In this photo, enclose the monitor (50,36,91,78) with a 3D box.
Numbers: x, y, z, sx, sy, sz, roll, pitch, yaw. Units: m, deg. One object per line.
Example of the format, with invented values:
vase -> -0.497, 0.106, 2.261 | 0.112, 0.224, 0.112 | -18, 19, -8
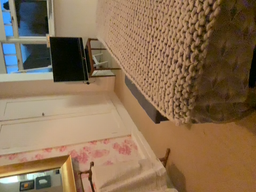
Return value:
monitor -> -0.930, -0.640, 3.430 | 0.040, 0.560, 0.710 | 136, 126, -64
